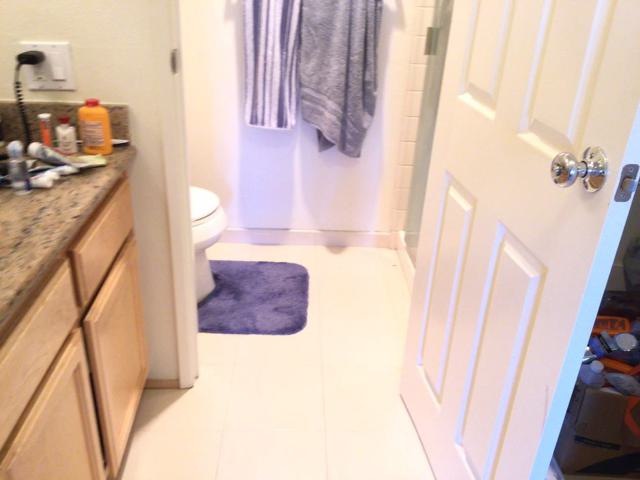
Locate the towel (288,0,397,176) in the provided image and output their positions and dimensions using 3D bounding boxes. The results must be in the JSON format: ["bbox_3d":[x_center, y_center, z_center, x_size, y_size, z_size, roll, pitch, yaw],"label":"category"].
[{"bbox_3d":[0.080,-0.680,2.320,0.380,0.800,0.190,3,26,-1],"label":"towel"}]

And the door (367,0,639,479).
[{"bbox_3d":[0.360,-0.250,1.130,0.160,2.040,0.840,-2,26,-10],"label":"door"}]

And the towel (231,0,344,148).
[{"bbox_3d":[-0.130,-0.740,2.310,0.420,0.700,0.150,3,26,-1],"label":"towel"}]
